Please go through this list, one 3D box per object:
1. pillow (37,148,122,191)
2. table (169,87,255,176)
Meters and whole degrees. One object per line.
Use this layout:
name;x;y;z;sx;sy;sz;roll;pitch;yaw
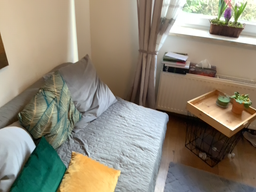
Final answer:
pillow;-0.230;0.490;0.930;0.320;0.170;0.480;8;33;5
table;0.730;0.280;1.850;0.490;0.460;0.430;-18;40;-32
